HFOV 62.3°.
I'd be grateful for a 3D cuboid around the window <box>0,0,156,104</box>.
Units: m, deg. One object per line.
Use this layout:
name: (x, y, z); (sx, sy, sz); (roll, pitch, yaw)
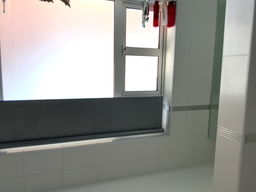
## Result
window: (-0.640, -0.440, 1.820); (1.910, 0.980, 0.080); (-2, -171, -22)
